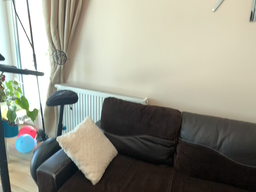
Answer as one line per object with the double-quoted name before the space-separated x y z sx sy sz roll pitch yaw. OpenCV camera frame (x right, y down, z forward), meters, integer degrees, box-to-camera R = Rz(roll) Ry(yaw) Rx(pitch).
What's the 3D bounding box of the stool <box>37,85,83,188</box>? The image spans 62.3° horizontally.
"stool" -0.590 0.360 1.910 0.230 0.850 0.270 10 19 22
